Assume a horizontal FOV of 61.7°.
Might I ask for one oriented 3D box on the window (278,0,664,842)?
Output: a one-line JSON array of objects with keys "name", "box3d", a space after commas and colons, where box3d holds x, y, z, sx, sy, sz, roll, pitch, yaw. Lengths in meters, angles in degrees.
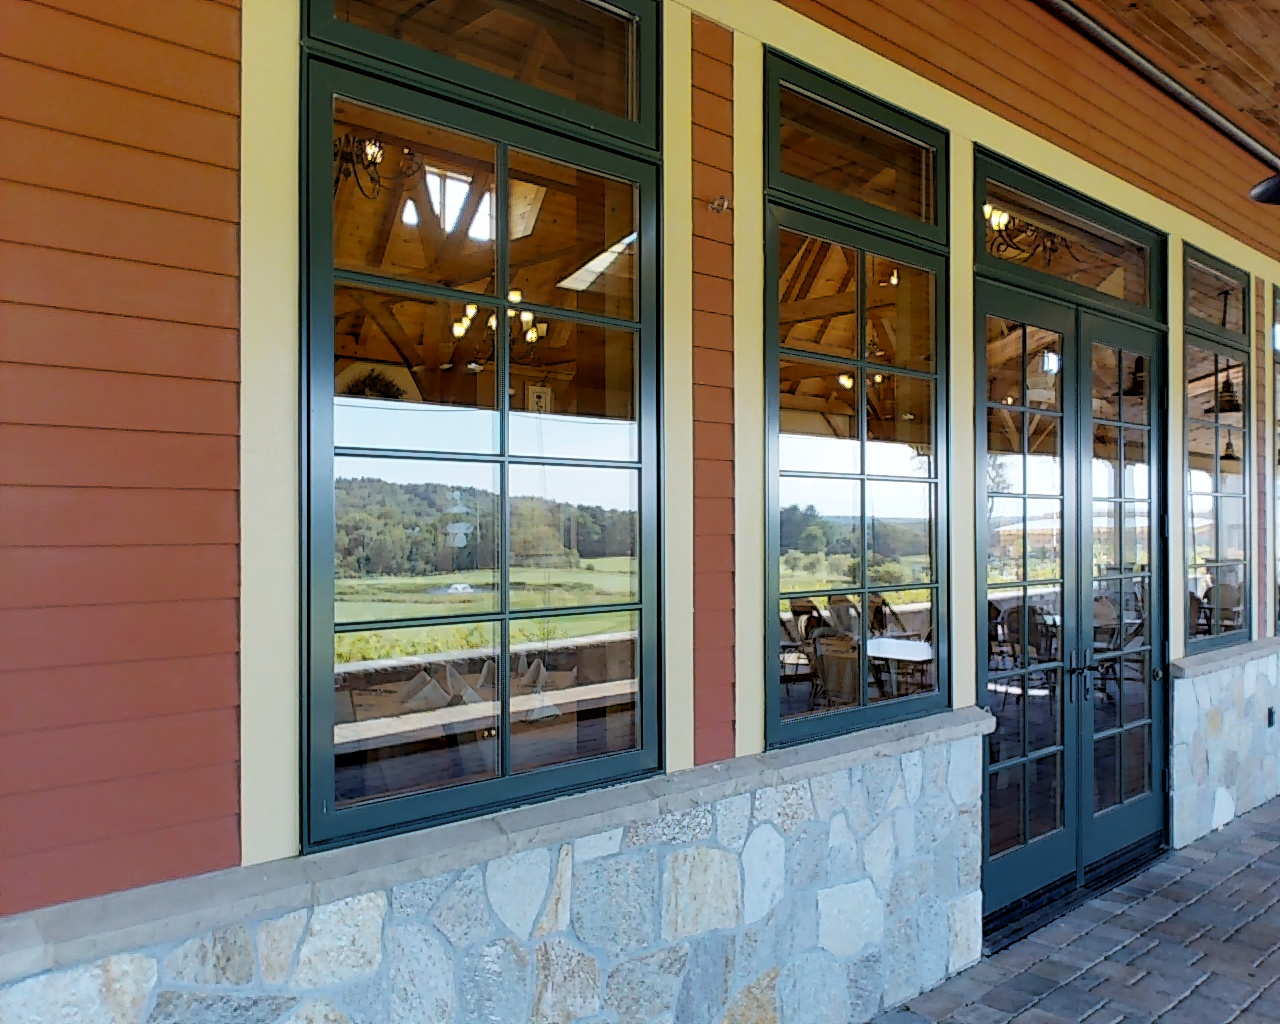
[{"name": "window", "box3d": [-0.340, -0.380, 2.540, 1.030, 2.090, 0.080, 1, 0, -45]}]
